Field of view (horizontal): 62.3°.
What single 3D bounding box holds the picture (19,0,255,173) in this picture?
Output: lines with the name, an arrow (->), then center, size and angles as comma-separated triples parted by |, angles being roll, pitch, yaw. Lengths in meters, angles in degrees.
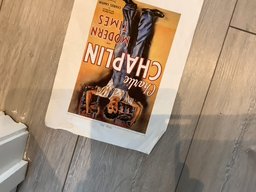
picture -> 0.030, -0.100, 0.370 | 0.260, 0.030, 0.390 | 33, 93, -2
